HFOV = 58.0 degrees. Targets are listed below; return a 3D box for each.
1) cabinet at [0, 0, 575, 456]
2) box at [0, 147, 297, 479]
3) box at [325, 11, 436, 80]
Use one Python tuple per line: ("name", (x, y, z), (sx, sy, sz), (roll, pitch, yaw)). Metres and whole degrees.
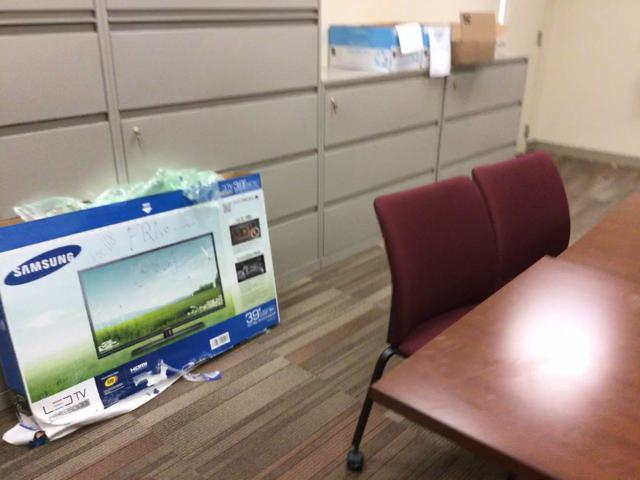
("cabinet", (-0.160, -0.610, 2.850), (4.390, 1.710, 0.680), (-21, 28, -37))
("box", (-0.680, 0.180, 2.100), (1.160, 0.800, 0.250), (-22, 17, -38))
("box", (0.330, -1.080, 3.190), (0.360, 0.310, 0.480), (-22, 29, -38))
